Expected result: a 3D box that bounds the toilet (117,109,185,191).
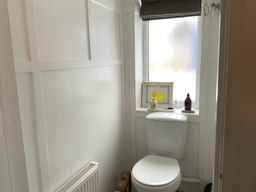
[{"bbox_3d":[0.230,0.570,1.760,0.360,0.760,0.700,4,11,22],"label":"toilet"}]
